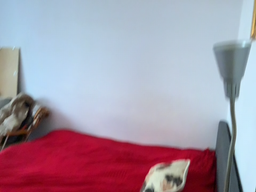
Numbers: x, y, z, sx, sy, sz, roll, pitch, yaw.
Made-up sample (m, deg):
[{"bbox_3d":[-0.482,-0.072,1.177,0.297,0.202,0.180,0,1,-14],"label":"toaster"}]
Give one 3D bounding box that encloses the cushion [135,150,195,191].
[{"bbox_3d":[0.270,0.580,1.500,0.320,0.200,0.360,8,12,25],"label":"cushion"}]
